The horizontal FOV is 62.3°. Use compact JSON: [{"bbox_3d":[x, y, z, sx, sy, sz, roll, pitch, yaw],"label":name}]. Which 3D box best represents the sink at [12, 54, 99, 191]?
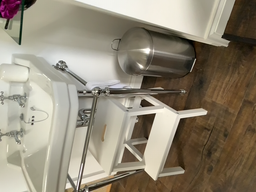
[{"bbox_3d":[-0.390,0.170,1.010,0.490,0.170,0.620,31,114,46],"label":"sink"}]

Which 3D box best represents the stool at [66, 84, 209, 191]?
[{"bbox_3d":[0.030,0.250,1.300,0.550,0.570,0.490,29,112,47],"label":"stool"}]

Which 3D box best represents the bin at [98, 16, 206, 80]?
[{"bbox_3d":[0.130,-0.280,1.260,0.420,0.430,0.240,31,114,46],"label":"bin"}]
